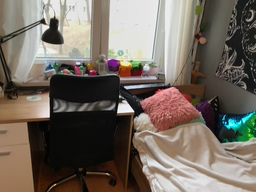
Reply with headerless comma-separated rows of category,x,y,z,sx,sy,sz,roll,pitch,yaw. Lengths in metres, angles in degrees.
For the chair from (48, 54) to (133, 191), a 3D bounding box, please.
chair,-0.360,0.250,1.780,0.510,1.060,0.700,-2,22,-18
